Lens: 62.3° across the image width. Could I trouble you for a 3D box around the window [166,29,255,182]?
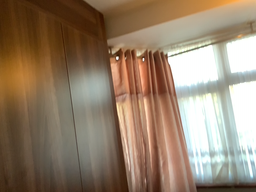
[{"bbox_3d":[1.190,0.070,1.840,1.530,1.310,0.060,-10,-4,23],"label":"window"}]
